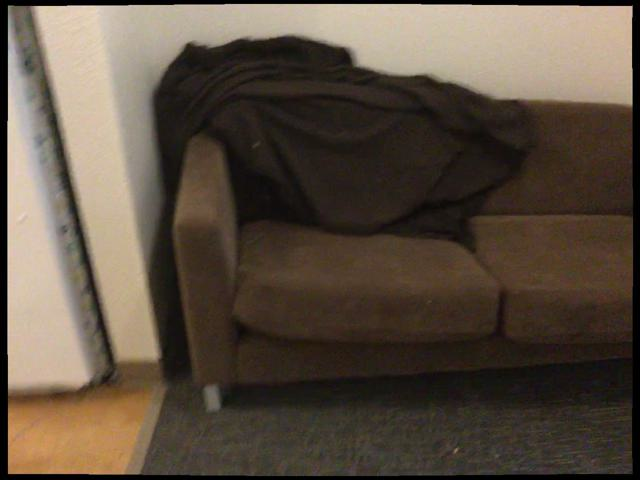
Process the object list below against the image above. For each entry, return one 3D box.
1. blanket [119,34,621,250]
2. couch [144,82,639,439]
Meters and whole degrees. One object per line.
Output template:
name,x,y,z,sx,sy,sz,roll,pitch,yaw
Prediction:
blanket,0.130,-0.351,1.920,1.357,0.521,0.560,-1,32,-4
couch,0.429,-0.010,1.910,1.707,0.751,0.930,-1,32,-4
